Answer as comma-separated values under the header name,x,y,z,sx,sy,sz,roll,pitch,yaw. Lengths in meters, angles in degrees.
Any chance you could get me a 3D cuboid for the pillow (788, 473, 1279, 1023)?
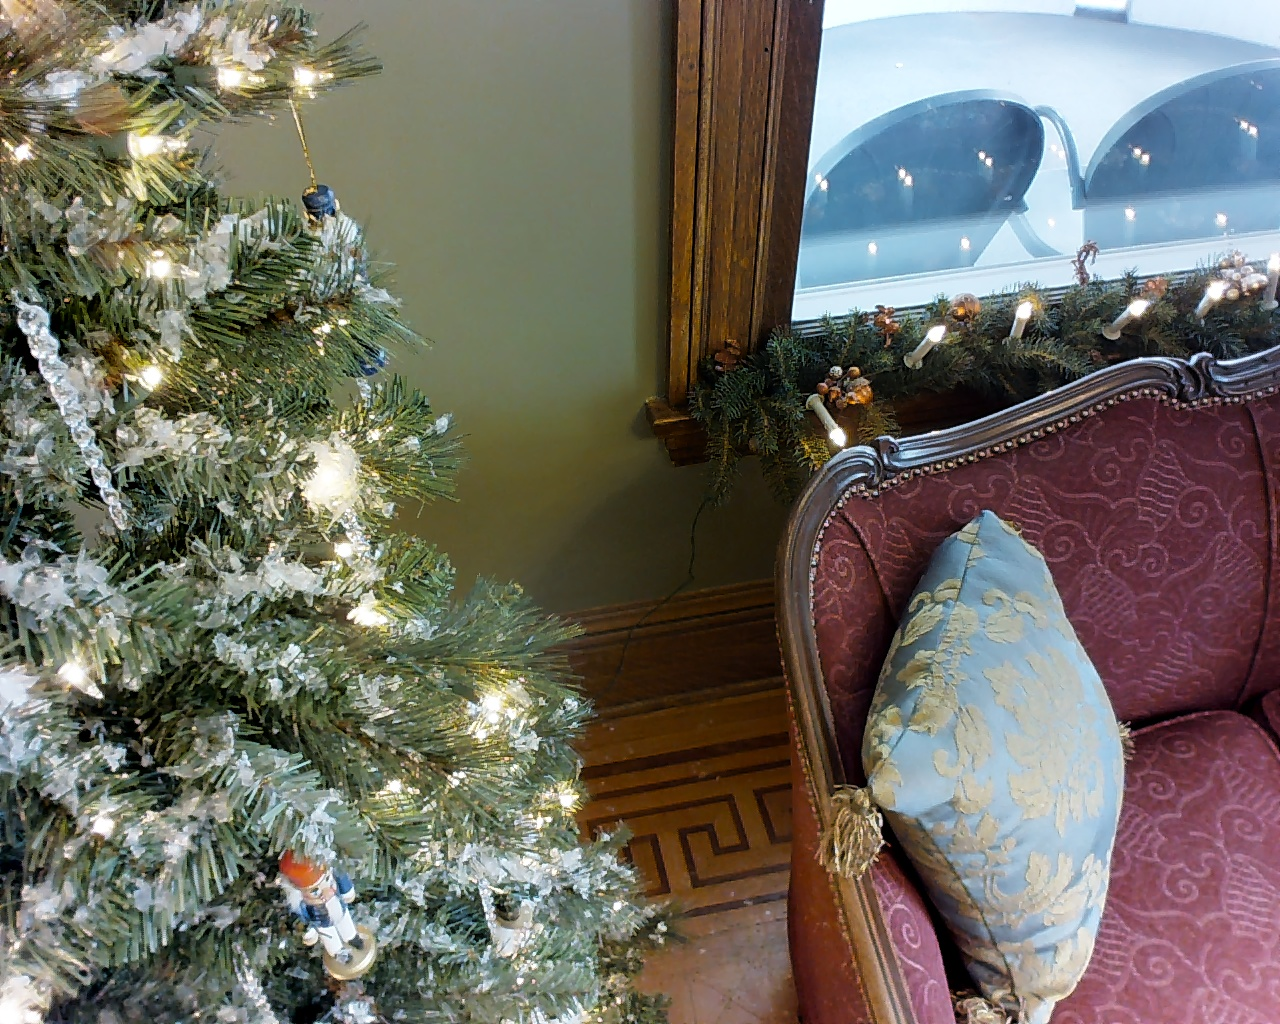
name,x,y,z,sx,sy,sz,roll,pitch,yaw
pillow,0.390,0.230,1.110,0.190,0.390,0.430,38,30,4
